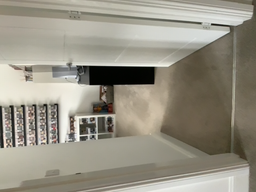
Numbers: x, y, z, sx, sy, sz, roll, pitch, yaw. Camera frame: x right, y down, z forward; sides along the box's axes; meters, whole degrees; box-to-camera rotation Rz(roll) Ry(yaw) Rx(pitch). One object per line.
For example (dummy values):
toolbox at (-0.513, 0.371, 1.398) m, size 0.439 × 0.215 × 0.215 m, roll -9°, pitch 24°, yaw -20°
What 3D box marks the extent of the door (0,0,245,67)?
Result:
door at (-0.390, -0.390, 1.500) m, size 0.880 × 2.200 × 0.120 m, roll 158°, pitch 109°, yaw -70°
